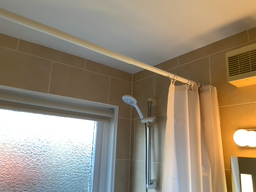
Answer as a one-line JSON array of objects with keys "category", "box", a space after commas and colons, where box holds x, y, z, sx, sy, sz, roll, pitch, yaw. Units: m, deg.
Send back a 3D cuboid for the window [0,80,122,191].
[{"category": "window", "box": [-0.550, 0.610, 1.380, 1.010, 1.270, 0.280, 12, -17, -36]}]
